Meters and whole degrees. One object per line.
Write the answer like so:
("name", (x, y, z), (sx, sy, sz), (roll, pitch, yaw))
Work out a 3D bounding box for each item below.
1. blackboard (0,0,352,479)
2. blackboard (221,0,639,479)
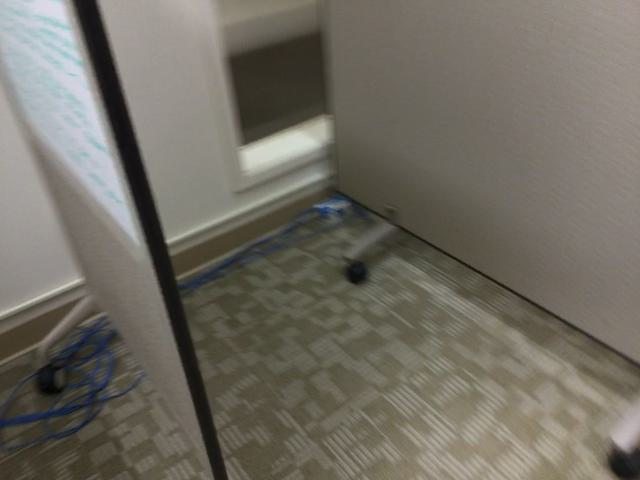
("blackboard", (-0.420, -0.060, 1.030), (0.400, 1.400, 0.880), (-28, 40, -27))
("blackboard", (0.400, -0.230, 1.400), (0.370, 1.160, 1.710), (-28, 40, -27))
